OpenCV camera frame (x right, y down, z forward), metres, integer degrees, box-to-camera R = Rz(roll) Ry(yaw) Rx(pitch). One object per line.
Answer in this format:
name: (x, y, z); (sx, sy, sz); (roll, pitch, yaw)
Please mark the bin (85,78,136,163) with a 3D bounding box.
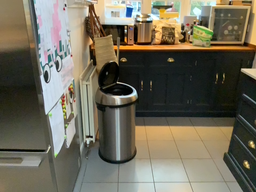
bin: (-0.140, 0.220, 2.010); (0.410, 0.670, 0.410); (2, 23, 1)
